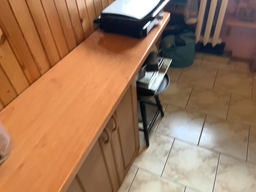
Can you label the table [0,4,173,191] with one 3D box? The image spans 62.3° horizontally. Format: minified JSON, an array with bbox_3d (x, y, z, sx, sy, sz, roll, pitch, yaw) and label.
[{"bbox_3d":[-0.190,0.230,1.060,0.360,0.770,1.500,15,47,20],"label":"table"}]
